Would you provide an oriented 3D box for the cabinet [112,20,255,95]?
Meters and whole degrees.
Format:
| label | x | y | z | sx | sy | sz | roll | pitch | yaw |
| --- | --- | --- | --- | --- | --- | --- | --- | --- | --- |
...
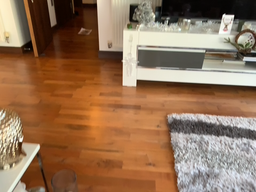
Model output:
| label | x | y | z | sx | sy | sz | roll | pitch | yaw |
| --- | --- | --- | --- | --- | --- | --- | --- | --- | --- |
| cabinet | 0.950 | -0.390 | 2.150 | 2.160 | 0.570 | 0.480 | 3 | 31 | 2 |
